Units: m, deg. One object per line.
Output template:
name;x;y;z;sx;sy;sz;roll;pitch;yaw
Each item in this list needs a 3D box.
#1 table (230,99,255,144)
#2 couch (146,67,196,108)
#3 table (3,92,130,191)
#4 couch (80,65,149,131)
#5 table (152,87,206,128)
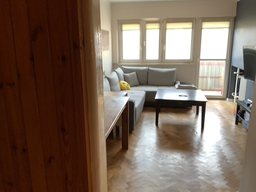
table;2.040;0.390;3.580;0.290;0.460;0.960;3;14;10
couch;1.050;-0.260;5.370;1.100;0.840;0.920;2;14;9
table;-0.510;0.500;2.500;0.870;0.770;1.430;2;14;9
couch;-0.110;-0.140;4.790;0.980;0.890;2.480;2;14;9
table;0.980;0.180;4.260;0.920;0.530;0.920;3;14;11
